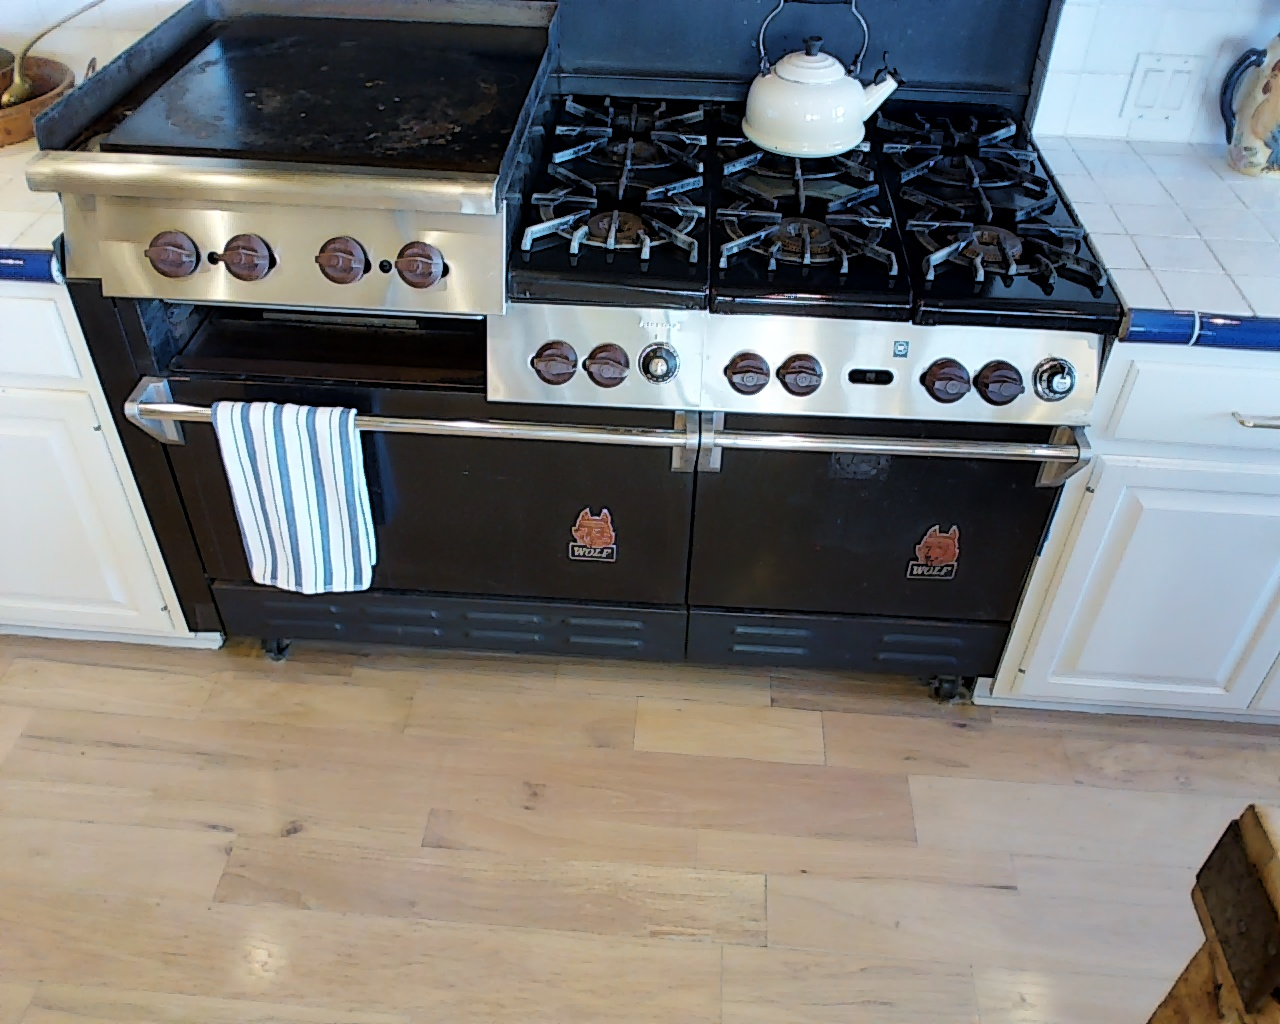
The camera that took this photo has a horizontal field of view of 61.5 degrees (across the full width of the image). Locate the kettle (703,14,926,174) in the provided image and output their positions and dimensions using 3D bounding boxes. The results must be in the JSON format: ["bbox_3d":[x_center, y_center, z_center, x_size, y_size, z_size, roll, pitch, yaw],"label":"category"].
[{"bbox_3d":[0.280,-0.710,1.820,0.330,0.180,0.230,2,40,0],"label":"kettle"}]

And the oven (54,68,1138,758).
[{"bbox_3d":[-0.060,-0.180,2.040,1.480,1.000,0.680,4,40,3],"label":"oven"}]

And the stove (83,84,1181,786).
[{"bbox_3d":[-0.010,-0.140,2.010,1.460,0.990,0.700,4,40,3],"label":"stove"}]
